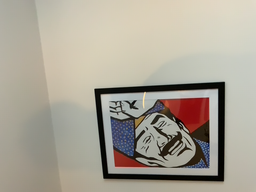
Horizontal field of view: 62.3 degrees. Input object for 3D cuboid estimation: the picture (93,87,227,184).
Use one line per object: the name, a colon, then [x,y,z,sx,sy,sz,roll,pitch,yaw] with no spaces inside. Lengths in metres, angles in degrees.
picture: [0.190,0.250,1.330,0.060,0.790,0.580,-45,-48,-77]
